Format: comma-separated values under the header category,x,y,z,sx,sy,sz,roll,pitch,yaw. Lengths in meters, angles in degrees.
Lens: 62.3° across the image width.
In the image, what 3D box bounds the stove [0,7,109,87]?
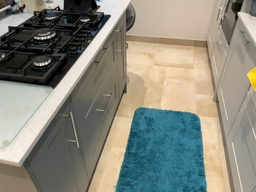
category,x,y,z,sx,sy,sz,roll,pitch,yaw
stove,-0.430,-0.340,1.190,0.440,0.030,0.850,7,40,9
